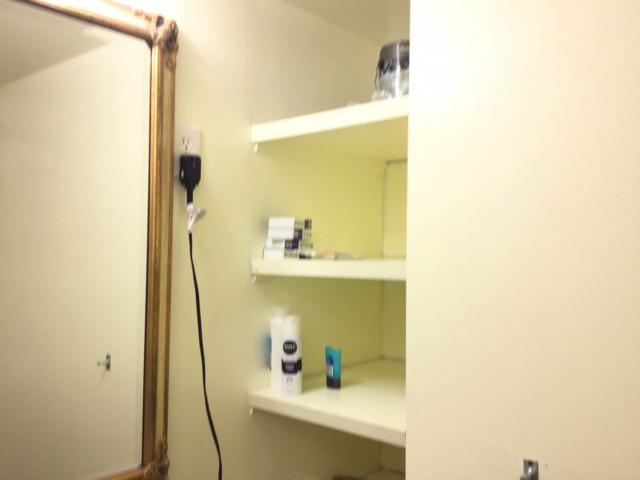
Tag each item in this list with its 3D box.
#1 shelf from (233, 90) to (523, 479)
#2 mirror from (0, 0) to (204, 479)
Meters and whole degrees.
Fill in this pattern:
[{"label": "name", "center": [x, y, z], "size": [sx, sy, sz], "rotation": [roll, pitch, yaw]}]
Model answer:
[{"label": "shelf", "center": [0.180, 0.270, 1.560], "size": [0.490, 1.130, 0.630], "rotation": [1, -2, 39]}, {"label": "mirror", "center": [-0.560, 0.030, 1.040], "size": [0.090, 1.130, 0.770], "rotation": [1, -2, 39]}]
